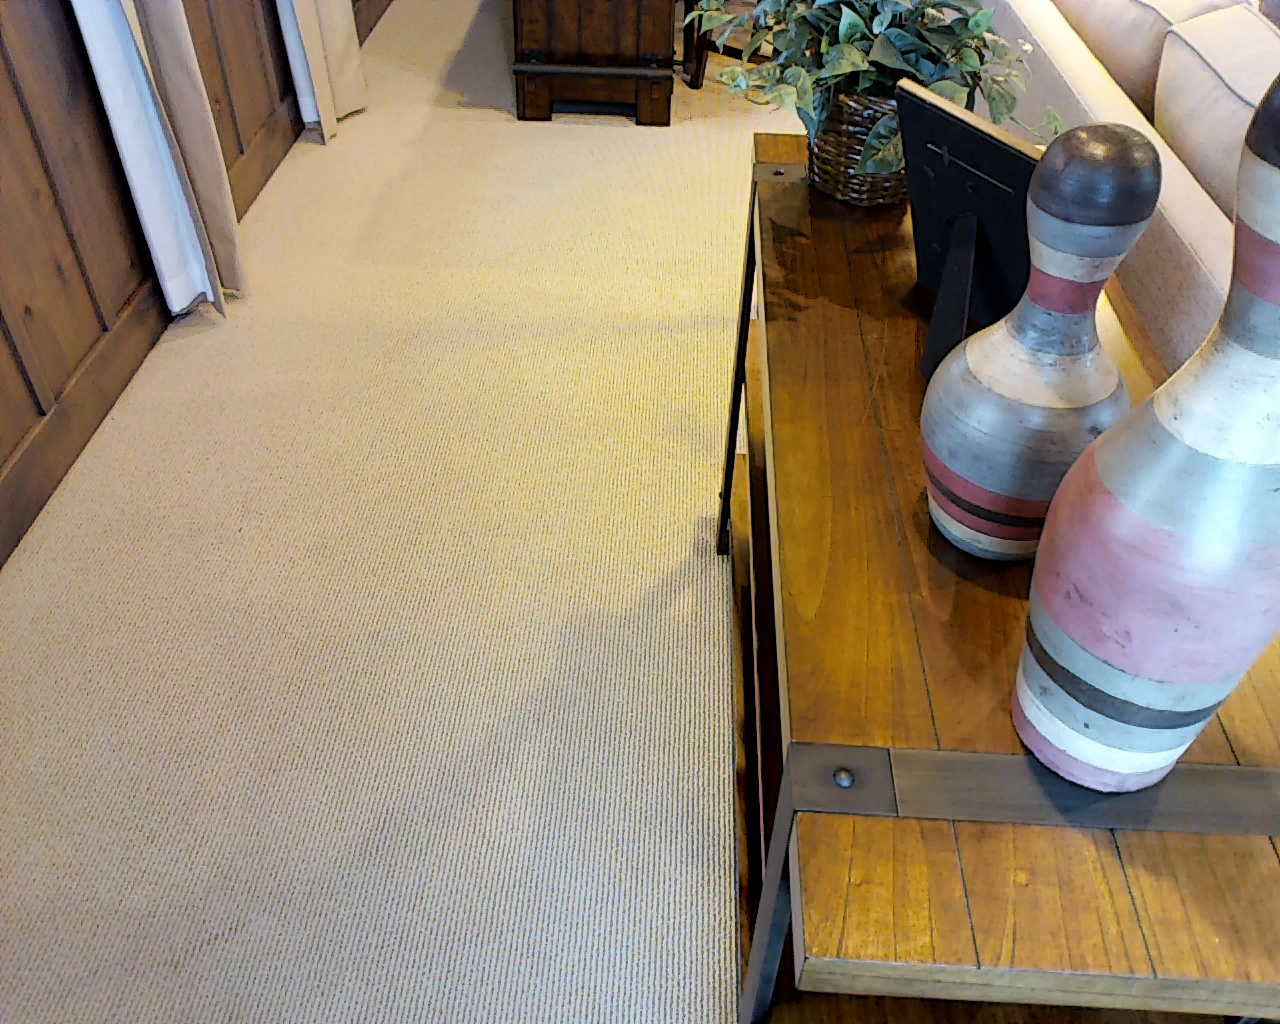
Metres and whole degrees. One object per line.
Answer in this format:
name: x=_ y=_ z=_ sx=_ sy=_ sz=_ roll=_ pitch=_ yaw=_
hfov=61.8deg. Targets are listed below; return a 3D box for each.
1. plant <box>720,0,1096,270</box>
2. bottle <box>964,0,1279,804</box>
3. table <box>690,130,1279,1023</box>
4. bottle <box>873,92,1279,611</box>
plant: x=0.310 y=-0.580 z=1.430 sx=0.380 sy=0.300 sz=0.460 roll=3 pitch=42 yaw=1
bottle: x=0.350 y=-0.030 z=0.670 sx=0.150 sy=0.500 sz=0.160 roll=2 pitch=42 yaw=0
table: x=0.350 y=0.140 z=1.400 sx=0.530 sy=0.740 sz=1.330 roll=2 pitch=42 yaw=1
bottle: x=0.330 y=-0.120 z=0.900 sx=0.180 sy=0.390 sz=0.180 roll=2 pitch=42 yaw=1
